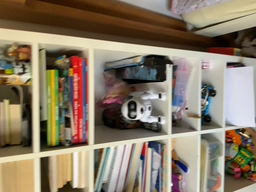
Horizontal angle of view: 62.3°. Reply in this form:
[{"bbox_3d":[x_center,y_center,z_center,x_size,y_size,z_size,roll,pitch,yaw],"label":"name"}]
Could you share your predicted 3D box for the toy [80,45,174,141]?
[{"bbox_3d":[-0.030,-0.020,0.990,0.400,0.270,0.340,7,96,61],"label":"toy"}]
